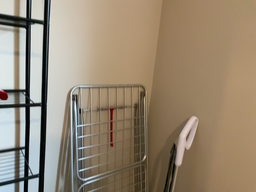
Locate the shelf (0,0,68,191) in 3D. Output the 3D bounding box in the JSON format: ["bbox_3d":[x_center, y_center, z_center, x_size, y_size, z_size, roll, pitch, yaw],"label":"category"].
[{"bbox_3d":[-0.530,0.330,0.860,0.390,1.720,0.300,1,11,-30],"label":"shelf"}]
